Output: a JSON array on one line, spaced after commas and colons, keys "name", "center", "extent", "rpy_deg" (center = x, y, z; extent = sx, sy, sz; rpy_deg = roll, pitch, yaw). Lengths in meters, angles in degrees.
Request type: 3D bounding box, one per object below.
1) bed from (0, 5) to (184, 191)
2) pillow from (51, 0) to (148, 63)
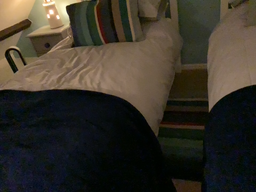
[{"name": "bed", "center": [-0.260, 0.030, 1.510], "extent": [1.030, 0.660, 2.120], "rpy_deg": [1, 35, 21]}, {"name": "pillow", "center": [-0.220, -0.580, 1.560], "extent": [0.590, 0.390, 0.190], "rpy_deg": [-29, 20, 34]}]
